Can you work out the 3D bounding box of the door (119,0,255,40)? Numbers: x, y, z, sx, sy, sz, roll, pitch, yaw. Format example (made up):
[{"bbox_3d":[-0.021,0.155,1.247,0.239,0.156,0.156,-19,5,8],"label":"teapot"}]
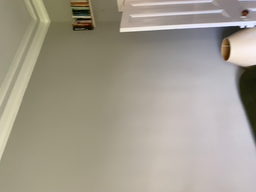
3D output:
[{"bbox_3d":[0.790,-0.840,2.100,0.770,1.700,0.170,-88,-4,-49],"label":"door"}]
